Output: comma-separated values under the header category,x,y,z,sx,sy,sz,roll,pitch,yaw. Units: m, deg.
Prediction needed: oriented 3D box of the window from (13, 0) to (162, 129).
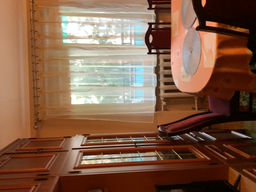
category,x,y,z,sx,sy,sz,roll,pitch,yaw
window,-0.460,-0.480,2.700,0.220,1.770,1.730,-157,66,-83
